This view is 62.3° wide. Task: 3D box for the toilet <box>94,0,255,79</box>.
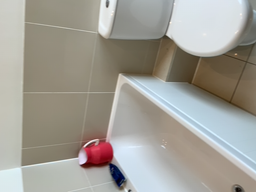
[{"bbox_3d":[0.320,-0.410,1.170,0.660,0.780,0.390,44,127,50],"label":"toilet"}]
